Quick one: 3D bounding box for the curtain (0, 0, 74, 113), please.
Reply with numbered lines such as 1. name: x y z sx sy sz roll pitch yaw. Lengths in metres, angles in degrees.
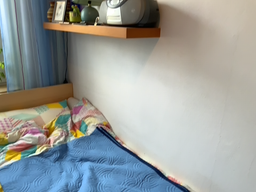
1. curtain: -0.810 -0.840 1.850 0.550 1.940 0.190 -15 26 -41
